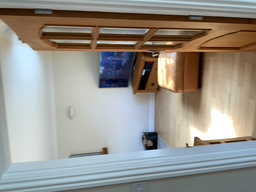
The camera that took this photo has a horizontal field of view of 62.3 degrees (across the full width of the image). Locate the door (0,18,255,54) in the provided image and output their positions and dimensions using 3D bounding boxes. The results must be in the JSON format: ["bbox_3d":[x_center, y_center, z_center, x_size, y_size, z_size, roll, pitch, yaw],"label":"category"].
[{"bbox_3d":[0.250,-0.410,1.630,0.750,2.030,0.090,-160,68,-76],"label":"door"}]

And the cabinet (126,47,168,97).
[{"bbox_3d":[0.350,-0.470,4.360,1.030,0.590,0.370,103,161,-49],"label":"cabinet"}]

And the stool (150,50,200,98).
[{"bbox_3d":[0.670,-0.360,3.210,0.710,0.450,0.640,-139,48,-73],"label":"stool"}]
